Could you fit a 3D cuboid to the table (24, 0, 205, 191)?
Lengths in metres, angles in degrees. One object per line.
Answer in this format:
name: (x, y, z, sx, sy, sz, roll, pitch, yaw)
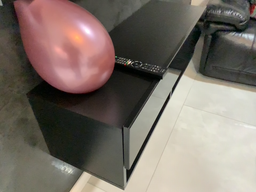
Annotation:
table: (0.070, -0.130, 1.020, 0.330, 0.350, 1.020, 17, 43, 20)
